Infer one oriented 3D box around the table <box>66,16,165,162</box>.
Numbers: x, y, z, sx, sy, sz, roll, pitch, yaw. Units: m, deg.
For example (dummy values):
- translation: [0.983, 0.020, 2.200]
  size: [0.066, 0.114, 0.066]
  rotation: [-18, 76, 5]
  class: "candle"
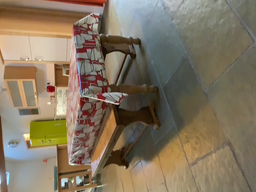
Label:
- translation: [-0.360, 0.070, 2.760]
  size: [1.860, 0.720, 0.910]
  rotation: [116, 145, -52]
  class: "table"
